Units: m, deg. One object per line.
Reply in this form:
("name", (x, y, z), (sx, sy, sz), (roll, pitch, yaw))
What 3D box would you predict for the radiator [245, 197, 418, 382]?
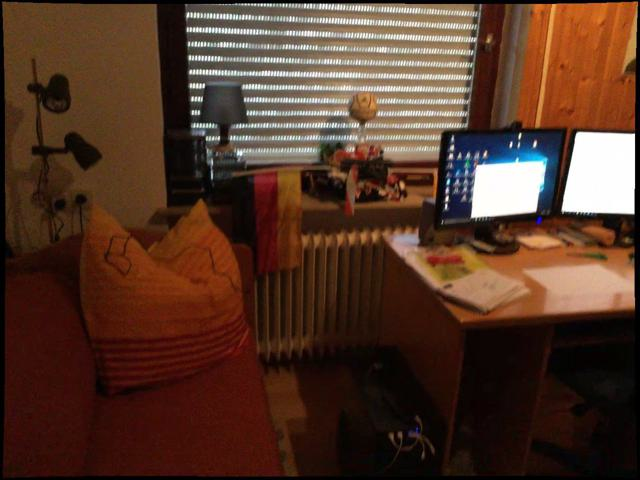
("radiator", (0.030, 0.210, 2.570), (0.689, 0.741, 0.240), (-3, 22, -14))
